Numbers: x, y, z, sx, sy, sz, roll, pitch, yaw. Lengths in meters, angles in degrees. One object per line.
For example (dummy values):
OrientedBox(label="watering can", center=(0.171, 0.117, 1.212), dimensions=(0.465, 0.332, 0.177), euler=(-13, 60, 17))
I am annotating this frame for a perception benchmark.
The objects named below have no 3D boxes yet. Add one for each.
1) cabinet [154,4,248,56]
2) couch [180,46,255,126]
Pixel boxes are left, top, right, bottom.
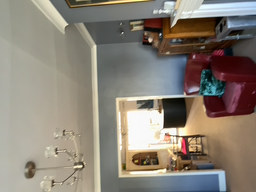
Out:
OrientedBox(label="cabinet", center=(1.060, -1.000, 3.390), dimensions=(0.920, 1.180, 0.440), euler=(71, -163, -86))
OrientedBox(label="couch", center=(1.290, -0.160, 3.080), dimensions=(0.860, 0.810, 0.760), euler=(-91, -2, -49))
